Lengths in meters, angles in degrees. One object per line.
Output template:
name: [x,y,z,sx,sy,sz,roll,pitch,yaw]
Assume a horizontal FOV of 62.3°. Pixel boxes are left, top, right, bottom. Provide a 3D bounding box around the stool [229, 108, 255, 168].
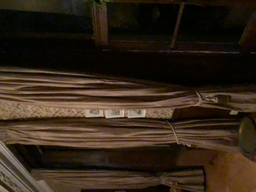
stool: [1.410,0.470,2.330,0.500,0.250,0.460,94,176,-50]
